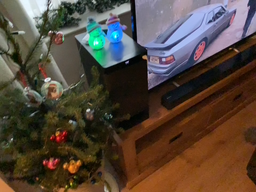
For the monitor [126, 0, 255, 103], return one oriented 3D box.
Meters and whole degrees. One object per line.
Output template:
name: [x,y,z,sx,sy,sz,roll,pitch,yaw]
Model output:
monitor: [0.460,-0.430,1.150,1.070,0.610,0.030,-28,47,-21]
